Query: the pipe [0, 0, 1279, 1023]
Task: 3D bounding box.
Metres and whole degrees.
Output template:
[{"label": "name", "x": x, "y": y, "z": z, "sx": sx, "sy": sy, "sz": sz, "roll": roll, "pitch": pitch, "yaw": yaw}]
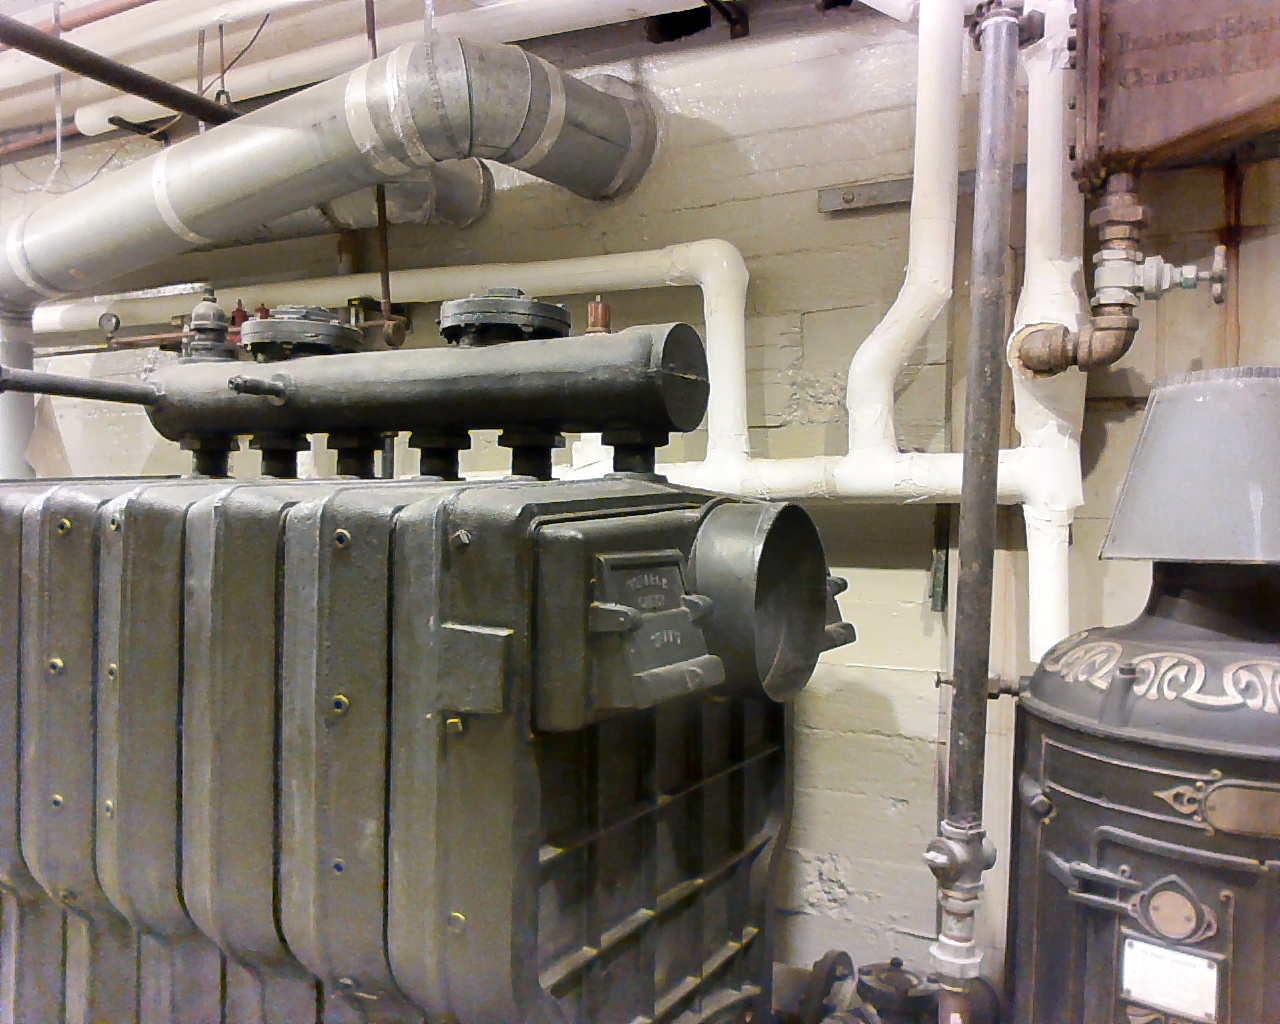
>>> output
[{"label": "pipe", "x": -1.100, "y": -0.630, "z": 1.560, "sx": 7.369, "sy": 2.490, "sz": 3.250, "roll": 1, "pitch": 1, "yaw": 30}]
